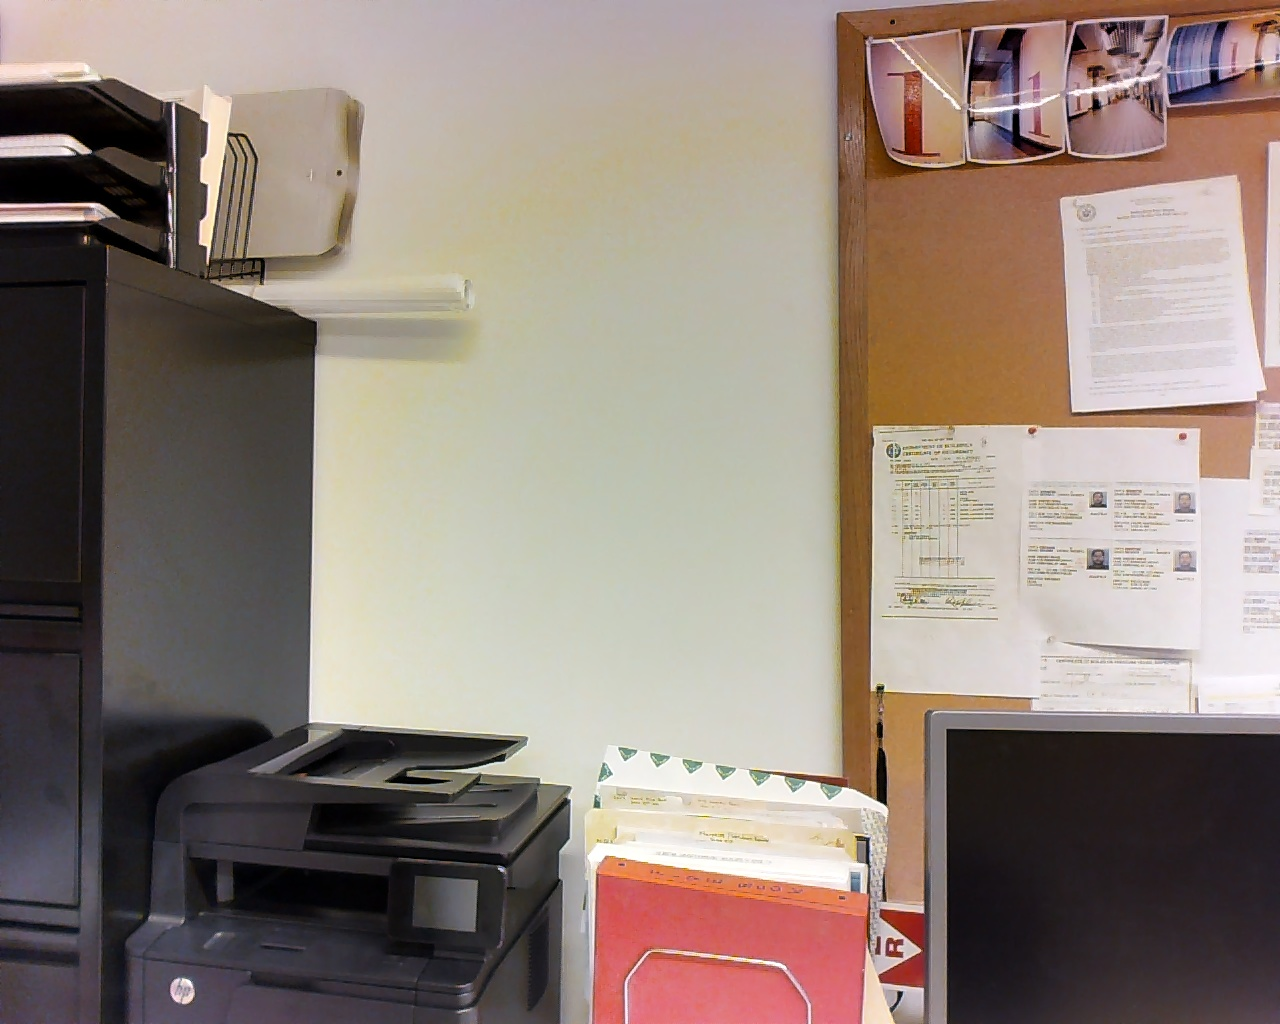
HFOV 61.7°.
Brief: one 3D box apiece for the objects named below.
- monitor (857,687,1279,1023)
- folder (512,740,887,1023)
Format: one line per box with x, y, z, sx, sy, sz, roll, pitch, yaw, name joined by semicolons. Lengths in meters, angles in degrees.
0.550;0.460;1.120;0.620;0.510;0.190;0;0;7;monitor
0.090;0.520;1.310;0.400;0.390;0.360;0;0;11;folder
